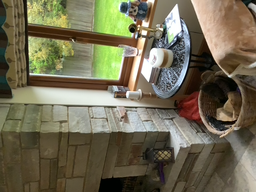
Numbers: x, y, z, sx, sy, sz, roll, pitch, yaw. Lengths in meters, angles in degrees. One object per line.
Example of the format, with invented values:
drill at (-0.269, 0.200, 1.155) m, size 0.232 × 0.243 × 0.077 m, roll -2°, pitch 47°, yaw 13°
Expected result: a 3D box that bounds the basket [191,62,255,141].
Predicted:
basket at (0.920, 0.060, 1.870) m, size 0.490 × 0.370 × 0.480 m, roll 115°, pitch 150°, yaw -48°
